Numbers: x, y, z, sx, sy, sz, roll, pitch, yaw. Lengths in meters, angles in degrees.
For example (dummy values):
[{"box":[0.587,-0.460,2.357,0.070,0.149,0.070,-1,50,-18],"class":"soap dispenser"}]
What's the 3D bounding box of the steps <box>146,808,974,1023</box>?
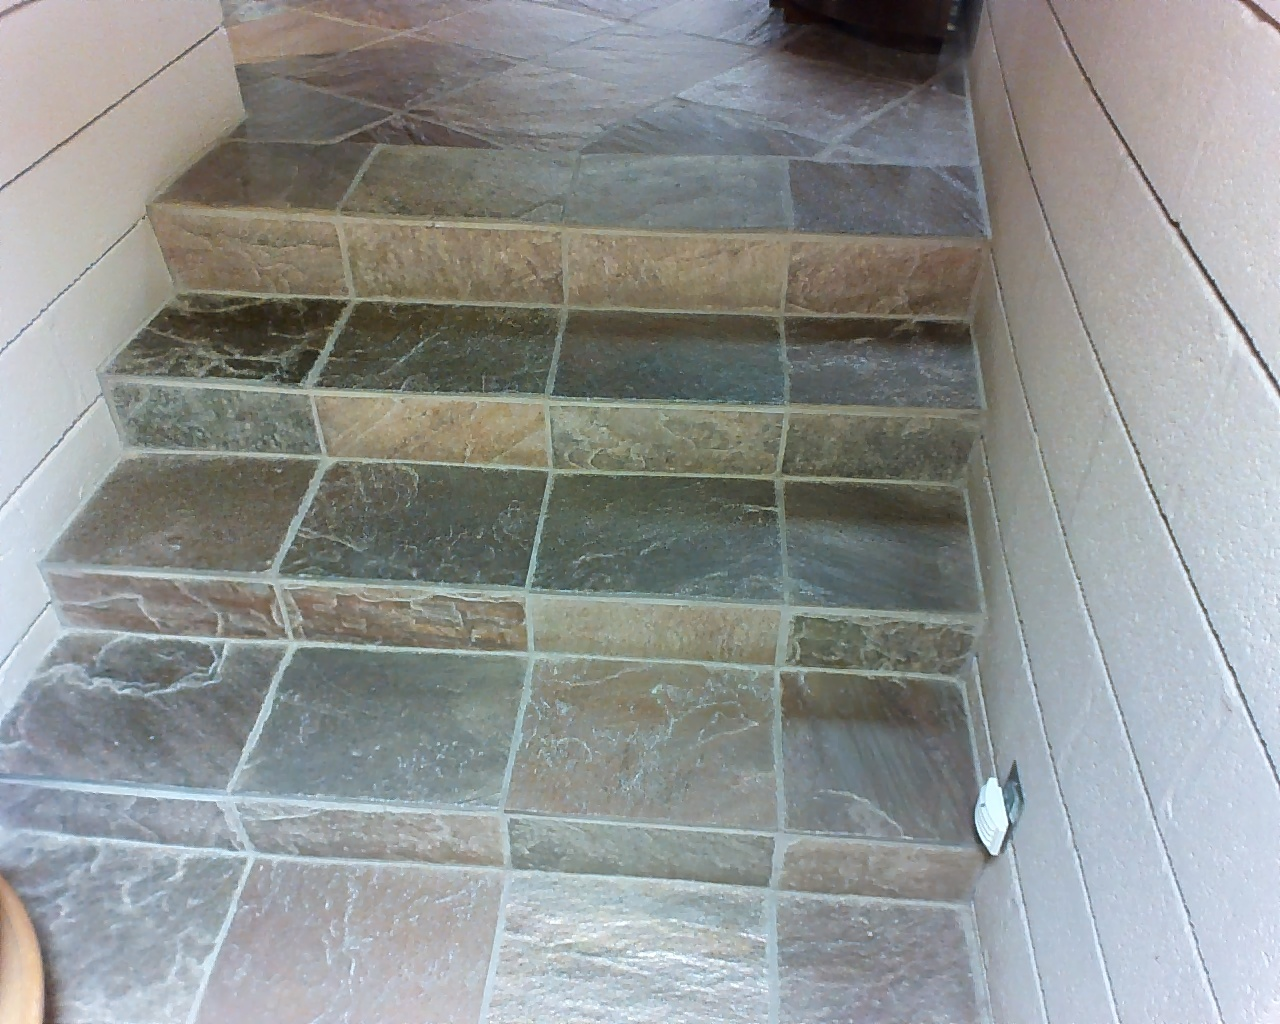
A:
[{"box":[-0.100,0.670,1.580,1.100,0.190,0.360,2,41,2],"class":"steps"}]
